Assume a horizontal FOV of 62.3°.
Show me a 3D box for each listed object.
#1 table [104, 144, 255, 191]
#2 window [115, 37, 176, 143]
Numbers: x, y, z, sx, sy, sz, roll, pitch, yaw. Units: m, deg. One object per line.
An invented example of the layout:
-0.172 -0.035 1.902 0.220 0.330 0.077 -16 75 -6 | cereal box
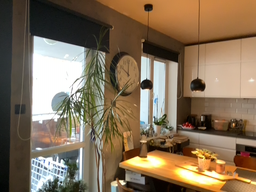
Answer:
0.760 1.140 2.230 2.010 0.780 0.840 2 0 39 | table
0.360 -0.090 3.800 0.360 1.620 1.220 2 0 42 | window
